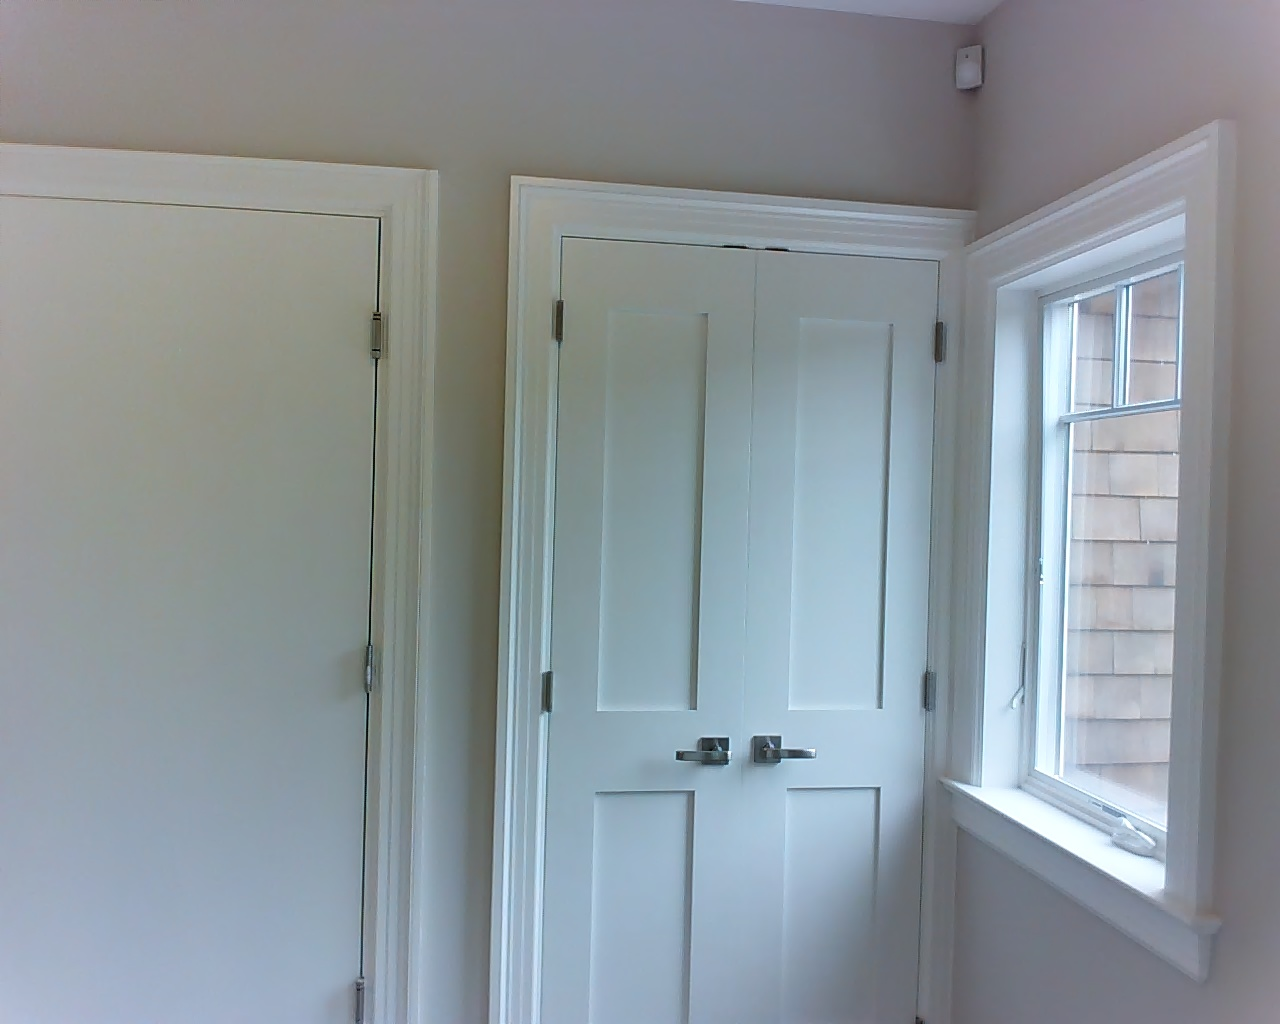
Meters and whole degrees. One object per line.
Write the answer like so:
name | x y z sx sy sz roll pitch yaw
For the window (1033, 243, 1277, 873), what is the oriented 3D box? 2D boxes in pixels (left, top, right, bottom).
window | 1.020 0.080 2.200 0.090 1.110 0.600 2 0 -9
